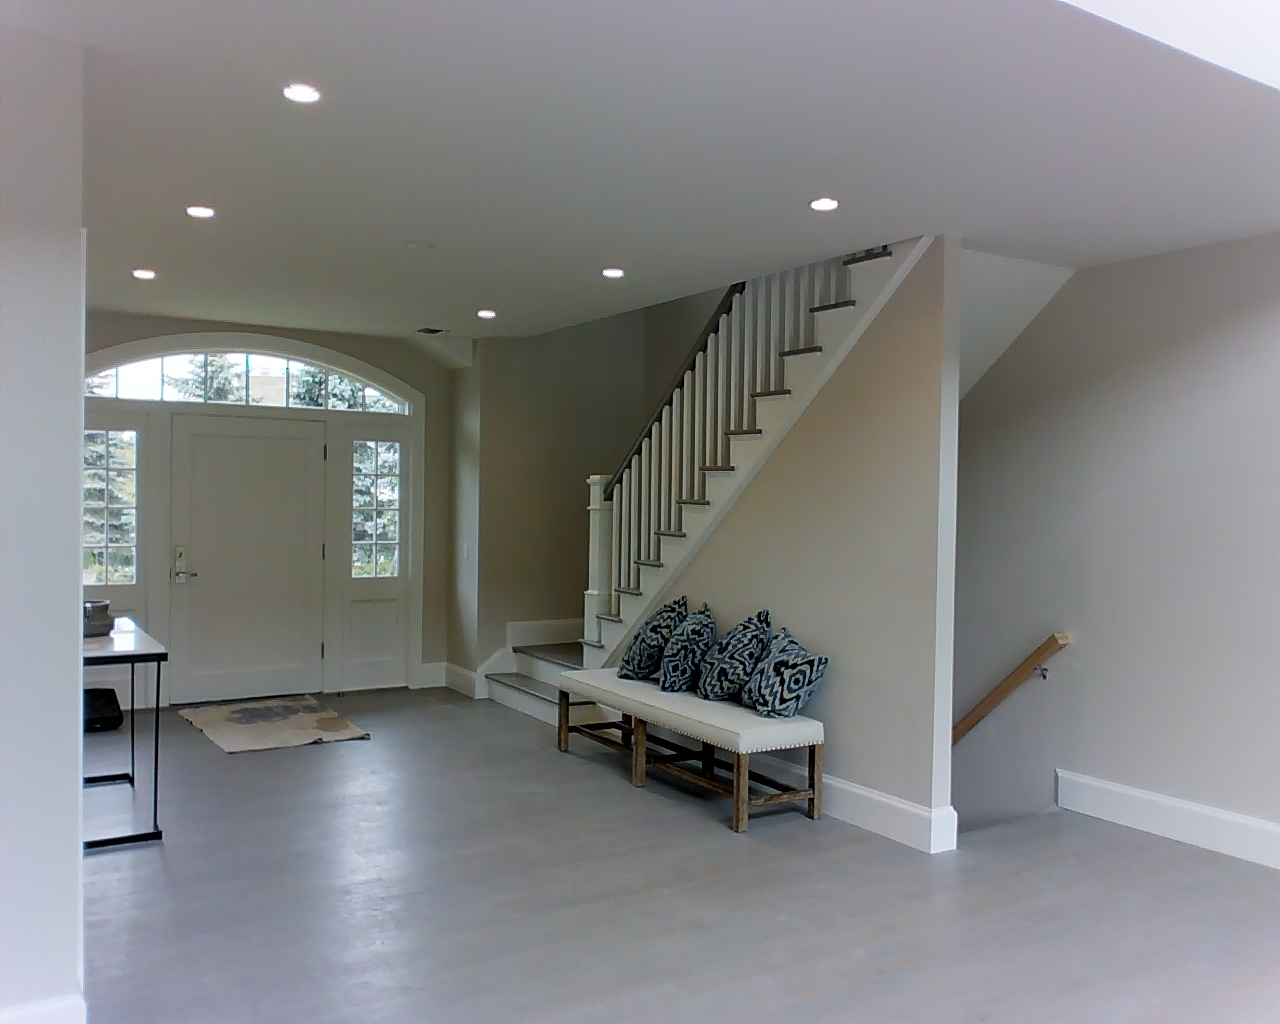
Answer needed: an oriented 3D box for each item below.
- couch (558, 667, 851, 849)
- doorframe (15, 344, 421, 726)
[{"bbox_3d":[0.250,1.250,5.840,0.550,0.490,2.020,0,1,-30],"label":"couch"},{"bbox_3d":[-2.950,0.160,7.830,2.740,2.500,0.170,0,1,-32],"label":"doorframe"}]
